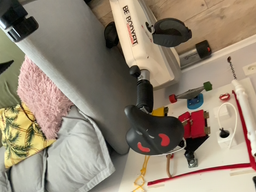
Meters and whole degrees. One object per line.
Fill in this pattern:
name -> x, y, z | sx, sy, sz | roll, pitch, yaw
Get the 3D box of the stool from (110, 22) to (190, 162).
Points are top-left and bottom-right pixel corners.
stool -> 0.160, -0.090, 1.110 | 0.210, 0.810, 0.240 | -24, 119, 29
